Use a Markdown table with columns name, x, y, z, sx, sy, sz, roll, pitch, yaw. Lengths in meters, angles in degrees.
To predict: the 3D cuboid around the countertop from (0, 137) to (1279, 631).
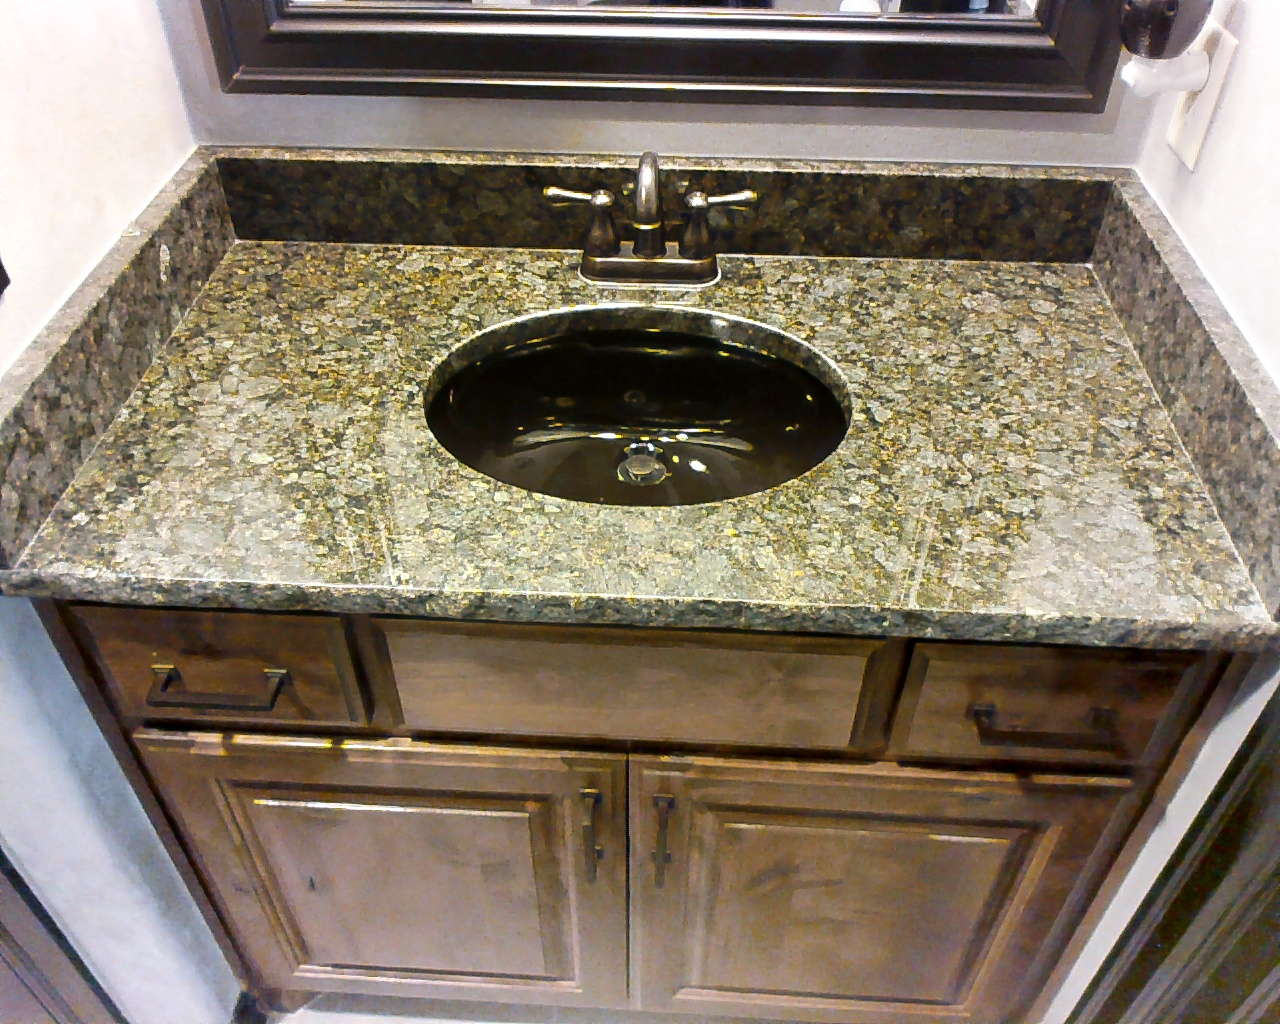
| name | x | y | z | sx | sy | sz | roll | pitch | yaw |
| --- | --- | --- | --- | --- | --- | --- | --- | --- | --- |
| countertop | 0.010 | -0.160 | 0.990 | 1.030 | 0.120 | 0.560 | 2 | 42 | 2 |

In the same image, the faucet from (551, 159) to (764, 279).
| name | x | y | z | sx | sy | sz | roll | pitch | yaw |
| --- | --- | --- | --- | --- | --- | --- | --- | --- | --- |
| faucet | 0.020 | -0.320 | 1.170 | 0.220 | 0.090 | 0.090 | 2 | 42 | 2 |

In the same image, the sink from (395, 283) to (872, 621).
| name | x | y | z | sx | sy | sz | roll | pitch | yaw |
| --- | --- | --- | --- | --- | --- | --- | --- | --- | --- |
| sink | 0.000 | -0.070 | 1.090 | 0.410 | 0.180 | 0.300 | 2 | 42 | 2 |
